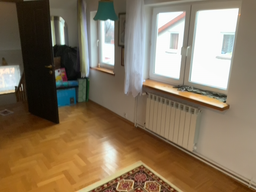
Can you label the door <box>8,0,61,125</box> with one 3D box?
[{"bbox_3d":[-1.620,-0.610,3.680,1.030,2.100,0.110,15,23,34],"label":"door"}]
